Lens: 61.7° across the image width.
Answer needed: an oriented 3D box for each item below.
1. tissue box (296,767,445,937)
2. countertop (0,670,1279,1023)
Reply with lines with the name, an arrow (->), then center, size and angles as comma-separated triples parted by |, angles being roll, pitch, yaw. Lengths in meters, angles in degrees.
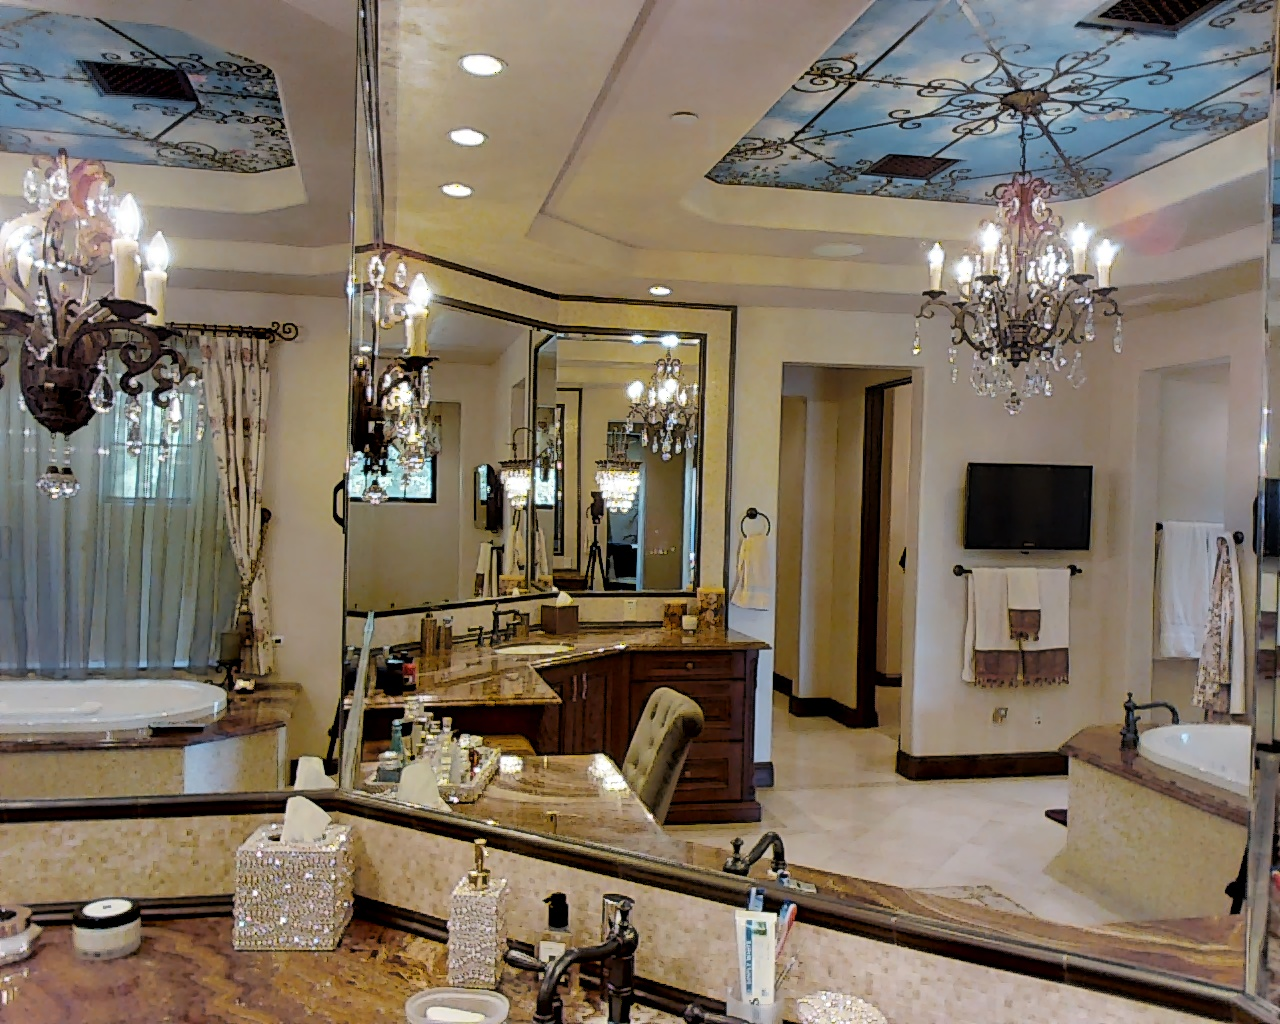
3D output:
tissue box -> -0.440, 0.550, 1.760 | 0.220, 0.210, 0.180 | 1, 1, -13
countertop -> 0.730, 0.700, 2.950 | 4.850, 0.170, 1.980 | 1, 1, -13
